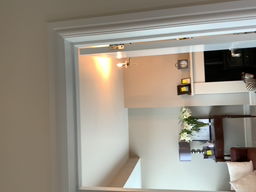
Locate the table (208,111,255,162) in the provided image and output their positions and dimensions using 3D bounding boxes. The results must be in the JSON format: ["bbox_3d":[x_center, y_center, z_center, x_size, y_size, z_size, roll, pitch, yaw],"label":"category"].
[{"bbox_3d":[1.930,0.720,3.920,0.490,0.730,0.840,15,-107,-79],"label":"table"}]
